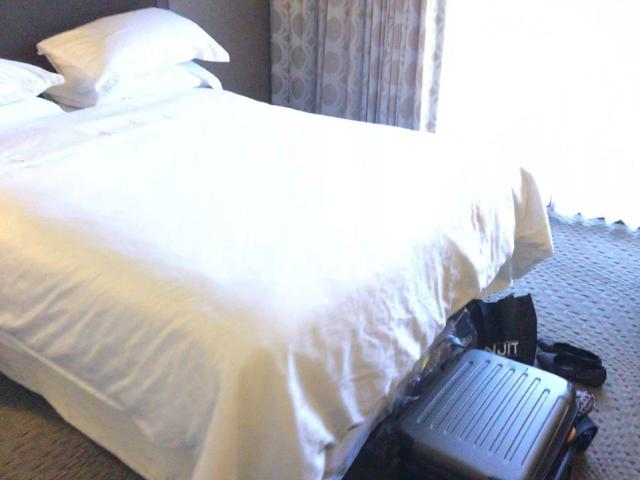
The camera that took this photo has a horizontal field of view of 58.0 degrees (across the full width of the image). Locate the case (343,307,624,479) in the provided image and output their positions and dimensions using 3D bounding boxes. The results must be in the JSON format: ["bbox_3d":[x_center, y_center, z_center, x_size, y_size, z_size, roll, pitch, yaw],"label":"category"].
[{"bbox_3d":[0.460,0.530,1.590,0.520,0.280,0.650,17,31,31],"label":"case"}]
